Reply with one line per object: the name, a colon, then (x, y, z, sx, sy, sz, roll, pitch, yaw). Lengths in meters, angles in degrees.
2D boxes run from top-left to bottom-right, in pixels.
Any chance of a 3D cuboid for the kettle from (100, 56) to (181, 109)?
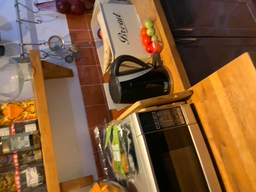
kettle: (0.050, -0.060, 0.920, 0.160, 0.280, 0.160, -37, 63, 61)
